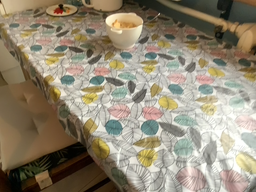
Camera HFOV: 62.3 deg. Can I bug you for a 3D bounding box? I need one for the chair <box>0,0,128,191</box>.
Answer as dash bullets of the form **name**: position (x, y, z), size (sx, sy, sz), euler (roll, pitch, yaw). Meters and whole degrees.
- **chair**: position (-0.340, 0.120, 0.900), size (0.470, 0.820, 0.460), euler (-25, 50, -27)
